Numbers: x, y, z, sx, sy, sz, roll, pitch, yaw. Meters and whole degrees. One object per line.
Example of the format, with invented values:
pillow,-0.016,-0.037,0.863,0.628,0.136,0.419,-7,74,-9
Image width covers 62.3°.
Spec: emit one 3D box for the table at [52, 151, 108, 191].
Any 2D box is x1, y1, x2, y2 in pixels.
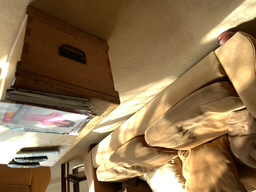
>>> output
table,-0.570,1.040,2.540,0.560,0.550,0.340,-12,147,0
